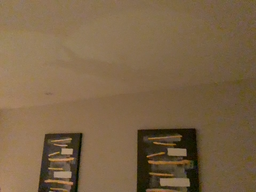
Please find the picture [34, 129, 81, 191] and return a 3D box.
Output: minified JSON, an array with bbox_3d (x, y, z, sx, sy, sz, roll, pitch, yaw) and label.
[{"bbox_3d":[-0.890,0.880,2.650,0.590,0.900,0.090,-6,-17,25],"label":"picture"}]
